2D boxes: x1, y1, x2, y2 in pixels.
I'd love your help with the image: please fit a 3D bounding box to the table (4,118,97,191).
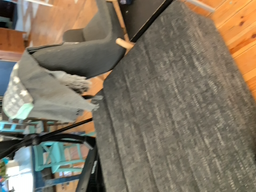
[{"bbox_3d":[-1.290,1.040,3.210,1.740,0.770,0.810,-37,61,46],"label":"table"}]
